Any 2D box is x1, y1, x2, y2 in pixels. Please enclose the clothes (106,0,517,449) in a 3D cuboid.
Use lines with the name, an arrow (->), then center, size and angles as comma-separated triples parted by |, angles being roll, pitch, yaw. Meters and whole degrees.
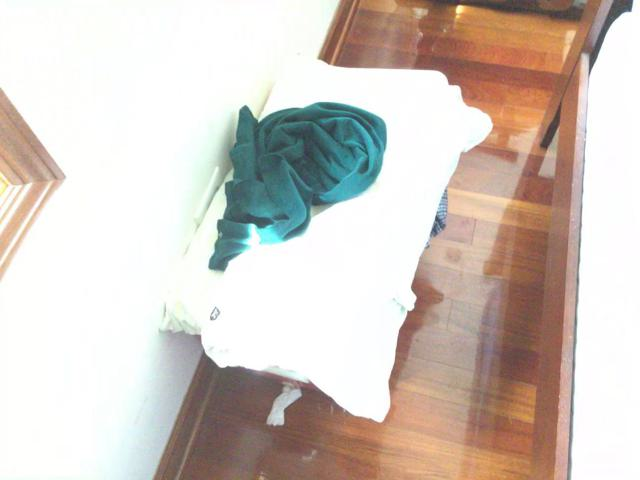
clothes -> 0.040, -0.070, 1.080 | 0.470, 0.330, 0.710 | 13, 61, 13

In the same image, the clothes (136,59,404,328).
clothes -> -0.060, -0.090, 1.020 | 0.330, 0.210, 0.360 | 13, 61, 13
